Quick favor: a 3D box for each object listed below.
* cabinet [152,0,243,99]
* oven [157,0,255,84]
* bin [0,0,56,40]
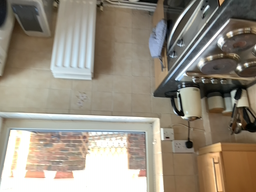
[{"bbox_3d":[0.520,-0.460,1.730,0.560,0.910,0.250,3,160,-8],"label":"cabinet"},{"bbox_3d":[0.570,-0.620,1.320,0.600,0.890,0.620,3,160,-8],"label":"oven"},{"bbox_3d":[-0.710,-0.760,1.590,0.240,0.530,0.370,3,160,-9],"label":"bin"}]
